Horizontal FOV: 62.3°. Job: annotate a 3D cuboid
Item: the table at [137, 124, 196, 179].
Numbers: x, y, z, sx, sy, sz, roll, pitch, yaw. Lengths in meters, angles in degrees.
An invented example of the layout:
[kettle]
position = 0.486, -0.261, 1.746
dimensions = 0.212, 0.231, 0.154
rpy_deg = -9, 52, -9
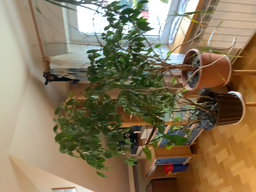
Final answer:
[table]
position = 0.660, 1.110, 4.110
dimensions = 1.260, 0.720, 0.590
rpy_deg = 103, 165, -54

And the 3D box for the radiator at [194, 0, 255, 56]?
[radiator]
position = 1.100, -0.770, 1.940
dimensions = 0.920, 0.650, 0.130
rpy_deg = 101, 166, -50
